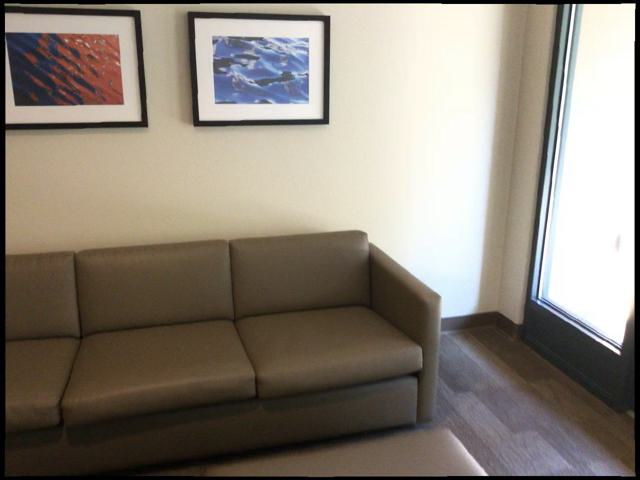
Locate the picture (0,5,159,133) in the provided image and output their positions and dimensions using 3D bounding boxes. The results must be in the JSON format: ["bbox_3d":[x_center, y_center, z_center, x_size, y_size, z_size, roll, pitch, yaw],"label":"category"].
[{"bbox_3d":[-1.058,-0.731,2.480,0.659,0.501,0.090,-6,18,-17],"label":"picture"}]

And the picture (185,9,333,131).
[{"bbox_3d":[-0.269,-0.782,2.670,0.659,0.511,0.080,-6,20,-17],"label":"picture"}]

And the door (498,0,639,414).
[{"bbox_3d":[1.247,-0.421,2.580,0.260,2.274,0.720,-6,20,-17],"label":"door"}]
